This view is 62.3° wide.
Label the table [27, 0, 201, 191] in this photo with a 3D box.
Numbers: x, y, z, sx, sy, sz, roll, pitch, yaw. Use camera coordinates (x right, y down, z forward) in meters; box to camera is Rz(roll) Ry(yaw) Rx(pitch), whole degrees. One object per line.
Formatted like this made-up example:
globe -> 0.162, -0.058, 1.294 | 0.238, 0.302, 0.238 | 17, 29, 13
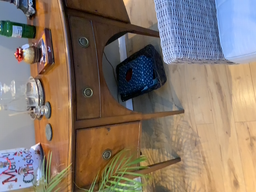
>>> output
table -> -0.120, -0.100, 1.480 | 0.630, 0.860, 1.350 | -15, 80, 51
